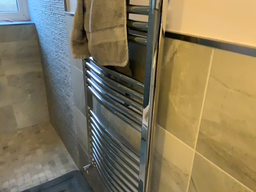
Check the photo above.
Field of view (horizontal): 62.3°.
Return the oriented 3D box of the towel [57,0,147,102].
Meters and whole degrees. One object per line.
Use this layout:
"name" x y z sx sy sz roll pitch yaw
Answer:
"towel" -0.110 -0.220 0.710 0.120 0.340 0.390 -14 29 -30
